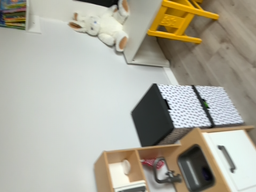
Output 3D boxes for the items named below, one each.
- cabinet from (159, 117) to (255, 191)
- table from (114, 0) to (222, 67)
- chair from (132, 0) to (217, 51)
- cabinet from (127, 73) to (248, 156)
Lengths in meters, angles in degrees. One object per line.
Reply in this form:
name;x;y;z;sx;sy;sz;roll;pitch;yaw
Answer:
cabinet;0.620;0.540;1.220;0.460;0.510;0.680;-58;41;44
table;0.310;-0.750;1.890;0.860;0.500;0.500;-56;42;46
chair;0.370;-0.700;1.810;0.380;0.460;0.420;-56;43;46
cabinet;0.400;0.130;1.520;0.380;0.640;0.390;-58;41;44
